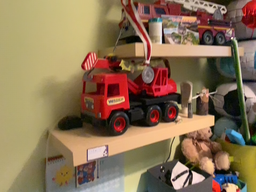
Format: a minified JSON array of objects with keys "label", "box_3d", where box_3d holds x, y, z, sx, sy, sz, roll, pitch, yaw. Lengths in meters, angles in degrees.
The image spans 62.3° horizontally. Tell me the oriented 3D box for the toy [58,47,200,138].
[{"label":"toy","box_3d":[0.030,-0.040,0.820,0.530,0.260,0.180,-6,9,-33]}]
